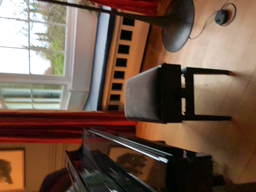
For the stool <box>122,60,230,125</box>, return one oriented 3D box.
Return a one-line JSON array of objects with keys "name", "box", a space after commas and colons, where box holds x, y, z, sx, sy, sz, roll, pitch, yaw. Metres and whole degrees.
[{"name": "stool", "box": [0.290, 0.000, 1.440, 0.500, 0.520, 0.340, 172, 99, -69]}]
